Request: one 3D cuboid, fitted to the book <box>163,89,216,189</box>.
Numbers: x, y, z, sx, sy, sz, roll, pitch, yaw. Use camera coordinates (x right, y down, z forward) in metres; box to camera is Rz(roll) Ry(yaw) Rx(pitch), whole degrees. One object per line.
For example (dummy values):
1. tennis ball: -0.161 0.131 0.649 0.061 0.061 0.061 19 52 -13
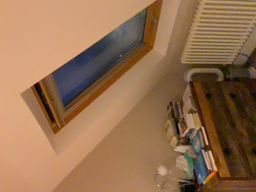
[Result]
1. book: 0.490 0.370 1.860 0.450 0.200 0.740 94 175 -54
